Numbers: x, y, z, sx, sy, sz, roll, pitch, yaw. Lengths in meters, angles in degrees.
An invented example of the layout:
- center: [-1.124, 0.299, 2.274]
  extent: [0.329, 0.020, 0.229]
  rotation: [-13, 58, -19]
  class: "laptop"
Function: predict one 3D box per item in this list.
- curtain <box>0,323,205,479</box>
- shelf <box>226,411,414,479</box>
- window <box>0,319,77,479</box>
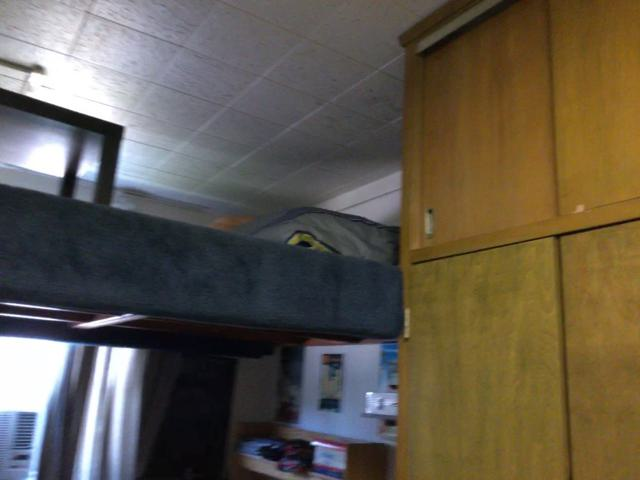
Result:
- center: [-1.760, 1.010, 2.660]
  extent: [2.390, 1.240, 0.360]
  rotation: [11, -19, -33]
  class: "curtain"
- center: [-0.060, 1.260, 2.860]
  extent: [0.340, 0.770, 1.160]
  rotation: [11, -19, -33]
  class: "shelf"
- center: [-1.560, 0.870, 3.070]
  extent: [0.360, 0.840, 0.240]
  rotation: [11, -19, -33]
  class: "window"
